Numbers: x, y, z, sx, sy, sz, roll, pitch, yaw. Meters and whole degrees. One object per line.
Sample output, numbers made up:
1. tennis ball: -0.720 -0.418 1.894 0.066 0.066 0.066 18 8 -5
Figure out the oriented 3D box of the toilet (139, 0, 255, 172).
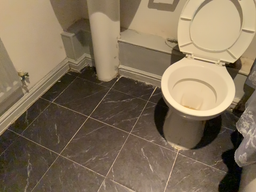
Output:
1. toilet: 0.390 -0.130 1.150 0.390 0.760 0.680 19 49 17
